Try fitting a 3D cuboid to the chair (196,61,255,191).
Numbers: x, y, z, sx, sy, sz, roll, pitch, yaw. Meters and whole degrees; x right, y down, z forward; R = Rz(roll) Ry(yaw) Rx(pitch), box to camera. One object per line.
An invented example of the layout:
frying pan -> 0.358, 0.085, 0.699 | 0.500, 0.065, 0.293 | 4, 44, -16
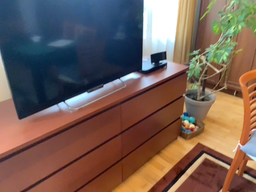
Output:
chair -> 0.850, 0.300, 1.410 | 0.430, 0.890, 0.490 | -25, 36, -38
